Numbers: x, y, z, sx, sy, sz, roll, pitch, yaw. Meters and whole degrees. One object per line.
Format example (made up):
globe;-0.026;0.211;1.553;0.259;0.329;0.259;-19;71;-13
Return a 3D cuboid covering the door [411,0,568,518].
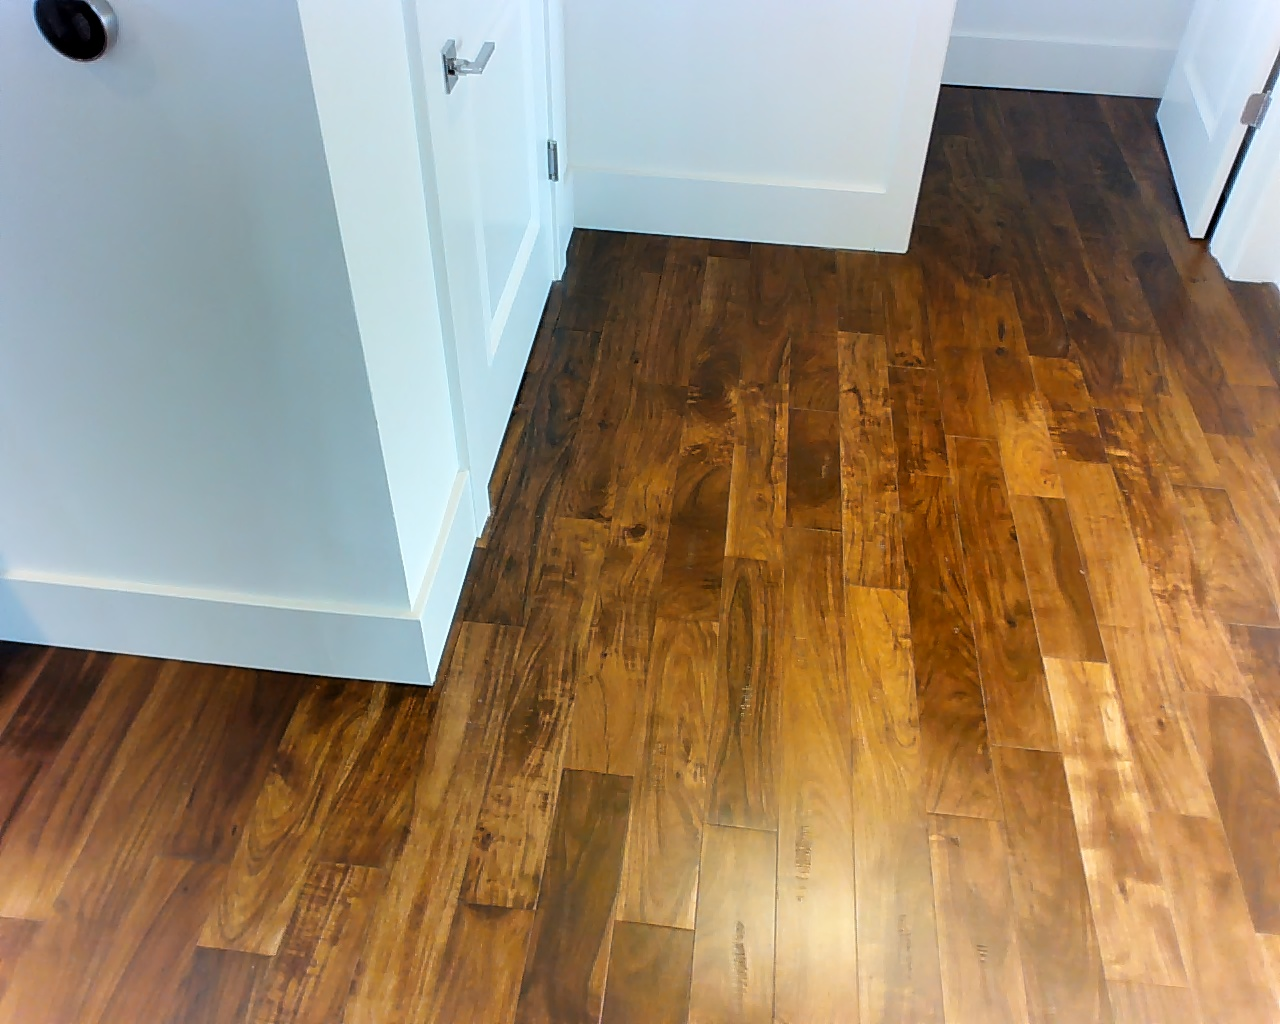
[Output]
door;-0.260;-1.150;1.910;0.020;2.180;1.070;5;43;4
